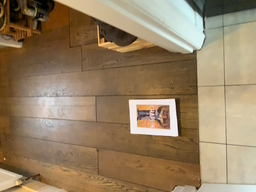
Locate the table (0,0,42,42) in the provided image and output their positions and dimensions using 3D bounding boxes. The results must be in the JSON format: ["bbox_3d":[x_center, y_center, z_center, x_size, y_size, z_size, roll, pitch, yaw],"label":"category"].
[{"bbox_3d":[-0.950,-0.810,1.780,0.280,0.290,0.620,-1,91,32],"label":"table"}]
